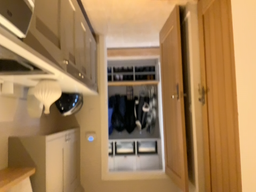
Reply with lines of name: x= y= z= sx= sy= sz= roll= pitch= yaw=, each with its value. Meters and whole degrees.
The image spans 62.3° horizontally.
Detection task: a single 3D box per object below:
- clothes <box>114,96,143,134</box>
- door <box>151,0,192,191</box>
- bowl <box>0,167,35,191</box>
clothes: x=0.000 y=0.420 z=4.710 sx=0.590 sy=0.800 sz=0.400 roll=-1 pitch=176 yaw=-5
door: x=0.490 y=-0.040 z=2.610 sx=0.140 sy=2.140 sz=0.910 roll=-1 pitch=176 yaw=-7
bowl: x=-0.870 y=0.710 z=1.550 sx=0.230 sy=0.290 sz=0.310 roll=-1 pitch=176 yaw=3
